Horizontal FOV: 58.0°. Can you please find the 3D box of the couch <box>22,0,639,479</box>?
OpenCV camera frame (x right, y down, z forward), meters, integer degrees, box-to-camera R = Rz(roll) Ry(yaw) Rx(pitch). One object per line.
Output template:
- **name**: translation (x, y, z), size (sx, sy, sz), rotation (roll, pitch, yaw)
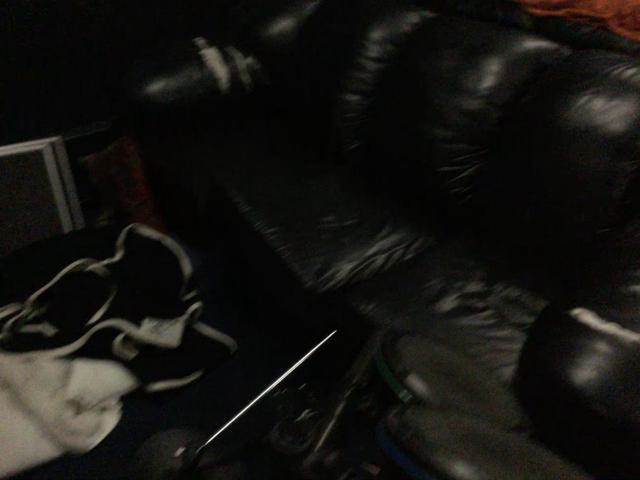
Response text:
- **couch**: translation (0.140, -0.170, 1.830), size (1.170, 0.990, 2.250), rotation (-24, 36, -33)
